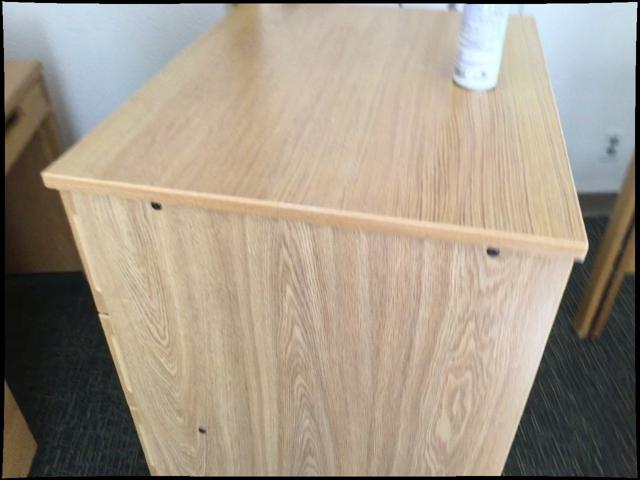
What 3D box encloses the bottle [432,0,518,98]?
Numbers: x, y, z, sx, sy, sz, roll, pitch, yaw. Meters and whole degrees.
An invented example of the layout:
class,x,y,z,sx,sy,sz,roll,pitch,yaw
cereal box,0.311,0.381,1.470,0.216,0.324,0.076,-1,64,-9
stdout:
class,x,y,z,sx,sy,sz,roll,pitch,yaw
bottle,0.229,-0.361,0.830,0.100,0.290,0.080,6,38,7
